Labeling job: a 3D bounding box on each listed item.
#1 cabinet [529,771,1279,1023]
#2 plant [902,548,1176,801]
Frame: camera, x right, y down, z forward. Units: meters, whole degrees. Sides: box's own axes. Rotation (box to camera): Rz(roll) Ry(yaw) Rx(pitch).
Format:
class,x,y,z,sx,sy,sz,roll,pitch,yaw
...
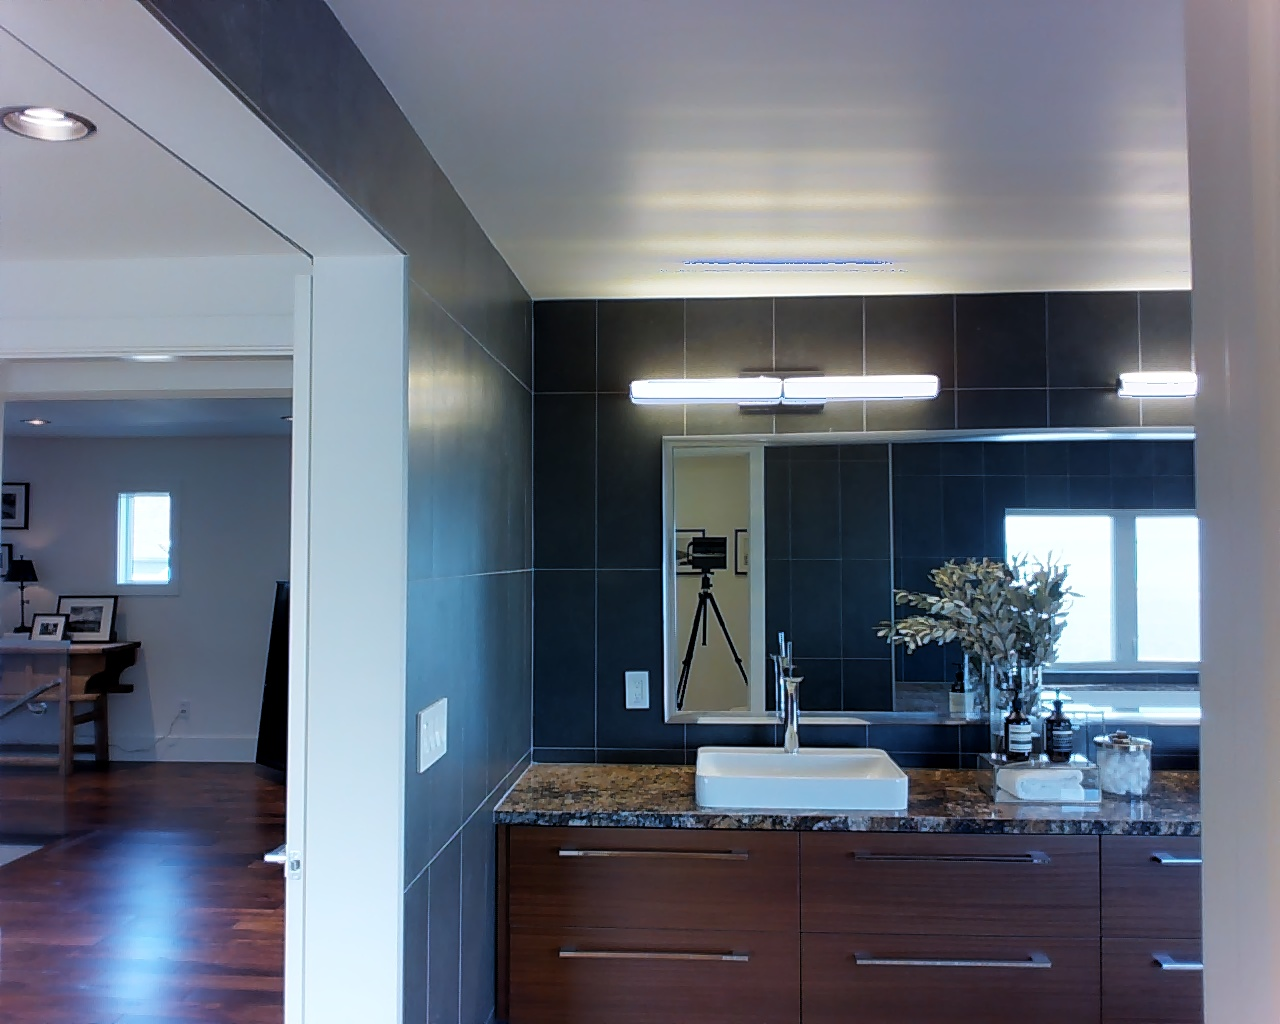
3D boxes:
class,x,y,z,sx,sy,sz,roll,pitch,yaw
cabinet,1.280,1.150,3.110,3.120,0.610,0.650,0,-2,5
plant,1.190,0.470,3.280,0.700,0.720,0.380,0,-2,4
